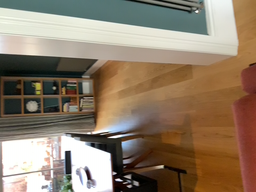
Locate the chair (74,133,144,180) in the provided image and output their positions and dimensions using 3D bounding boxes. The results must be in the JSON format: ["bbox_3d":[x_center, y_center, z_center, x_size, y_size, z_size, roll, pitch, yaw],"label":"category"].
[{"bbox_3d":[-0.290,0.850,3.150,0.450,0.910,0.530,163,105,-63],"label":"chair"}]
